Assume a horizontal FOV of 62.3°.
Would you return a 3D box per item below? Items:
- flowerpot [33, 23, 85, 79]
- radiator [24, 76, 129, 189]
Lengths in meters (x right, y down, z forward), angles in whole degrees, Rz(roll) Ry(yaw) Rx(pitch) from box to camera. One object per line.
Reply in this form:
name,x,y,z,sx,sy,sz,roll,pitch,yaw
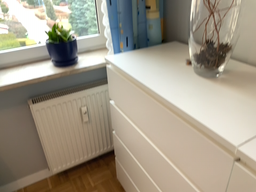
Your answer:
flowerpot,-0.460,-0.310,1.410,0.230,0.270,0.270,-17,33,-24
radiator,-0.330,0.270,1.630,0.670,0.700,0.160,-18,33,-25
